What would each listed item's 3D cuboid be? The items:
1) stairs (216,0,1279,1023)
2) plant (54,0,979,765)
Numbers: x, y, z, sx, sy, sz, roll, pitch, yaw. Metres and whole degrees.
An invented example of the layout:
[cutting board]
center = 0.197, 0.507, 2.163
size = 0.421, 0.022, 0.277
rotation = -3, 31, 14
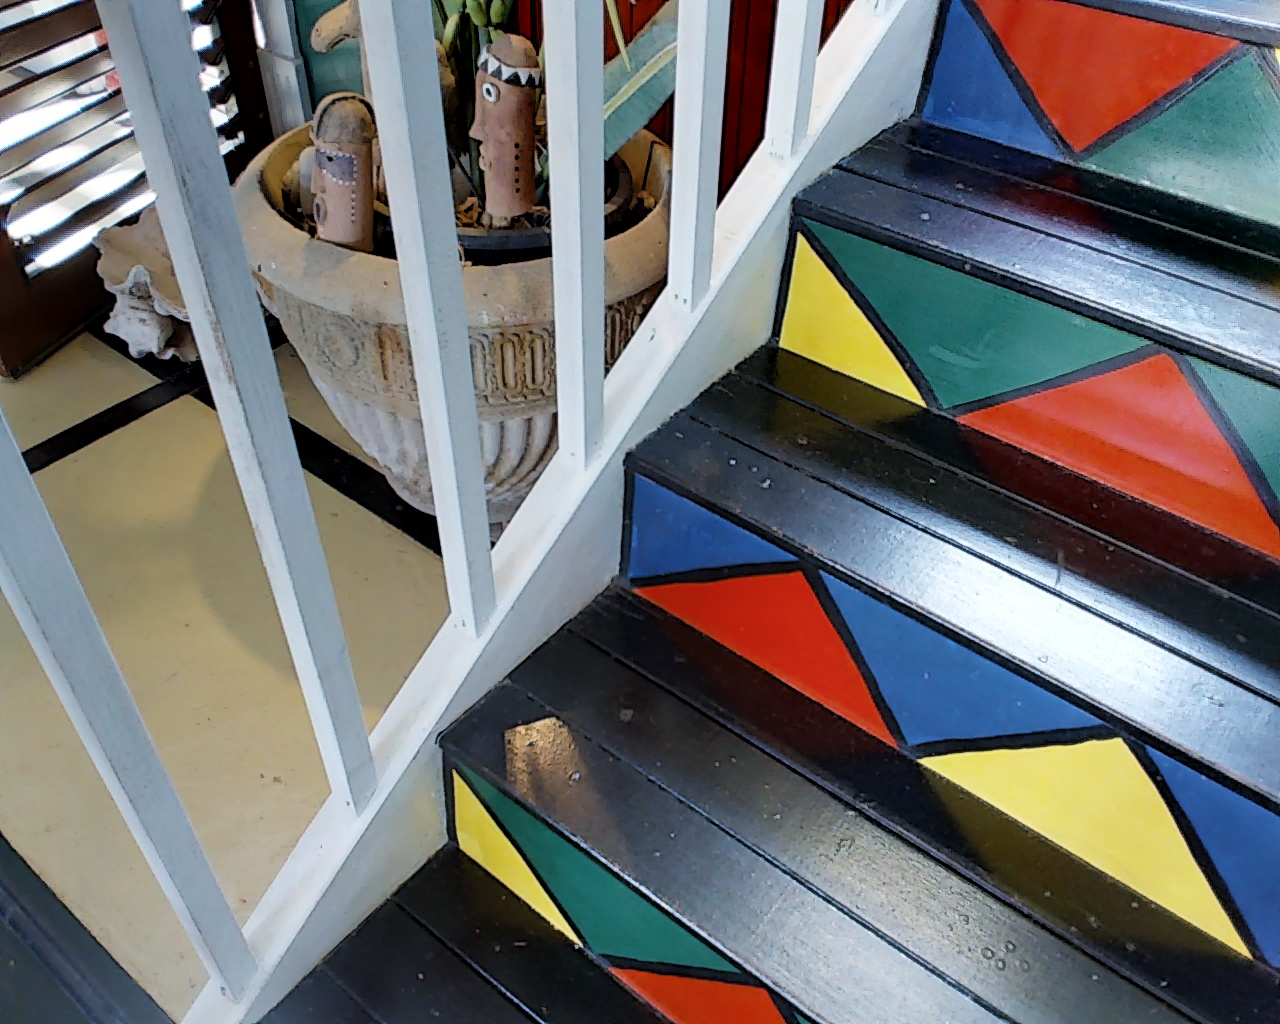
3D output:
[stairs]
center = 0.500, 0.020, 0.830
size = 1.010, 0.230, 2.010
rotation = 29, 82, 27
[plant]
center = -0.140, -0.590, 1.450
size = 0.860, 1.470, 0.820
rotation = 28, 48, 28
